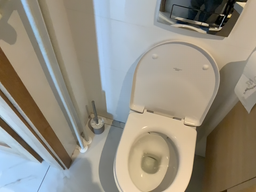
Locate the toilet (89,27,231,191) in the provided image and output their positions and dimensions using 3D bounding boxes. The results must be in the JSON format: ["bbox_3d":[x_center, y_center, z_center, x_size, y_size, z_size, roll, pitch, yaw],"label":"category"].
[{"bbox_3d":[0.120,0.220,1.040,0.360,0.880,0.510,15,58,6],"label":"toilet"}]
